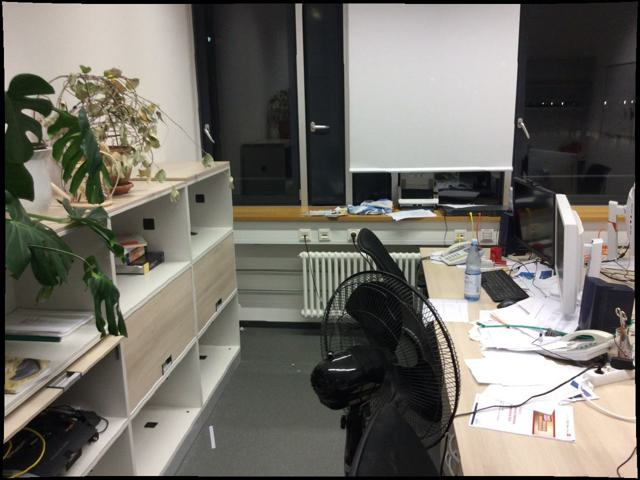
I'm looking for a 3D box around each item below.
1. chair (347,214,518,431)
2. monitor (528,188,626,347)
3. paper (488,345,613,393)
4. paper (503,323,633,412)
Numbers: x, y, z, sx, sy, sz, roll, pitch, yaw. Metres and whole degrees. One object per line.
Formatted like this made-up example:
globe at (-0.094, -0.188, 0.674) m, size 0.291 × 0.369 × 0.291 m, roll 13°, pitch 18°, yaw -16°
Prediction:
chair at (0.539, 0.400, 3.090) m, size 0.719 × 0.951 × 0.650 m, roll -1°, pitch 14°, yaw -3°
monitor at (1.079, 0.070, 2.520) m, size 0.190 × 0.460 × 0.830 m, roll 3°, pitch 15°, yaw 12°
paper at (0.799, 0.450, 2.050) m, size 0.350 × 0.020 × 0.290 m, roll 1°, pitch 14°, yaw 7°
paper at (0.849, 0.430, 2.060) m, size 0.280 × 0.040 × 0.580 m, roll 1°, pitch 14°, yaw 7°
